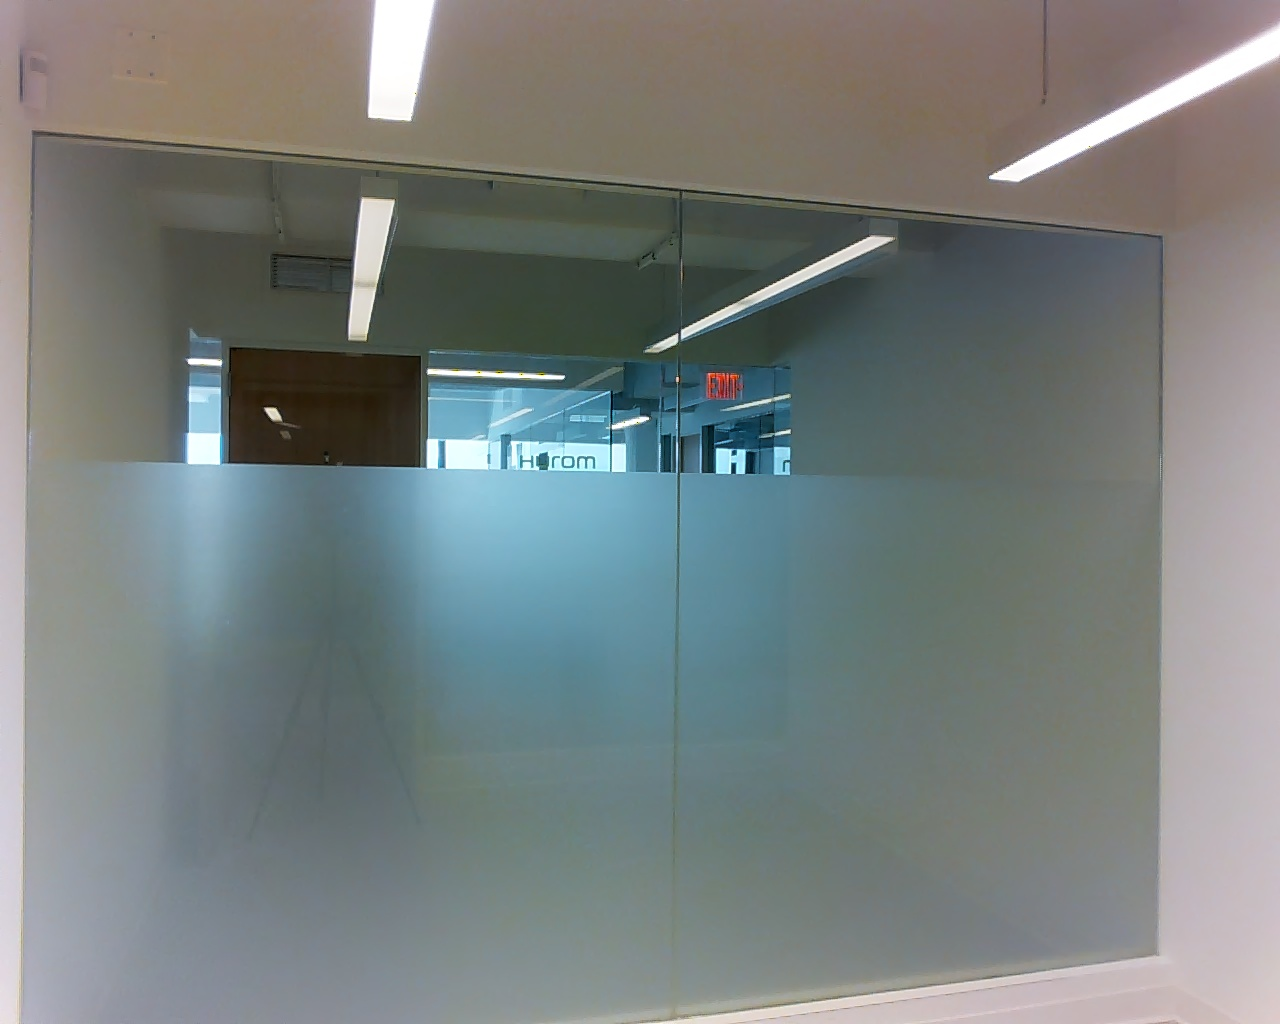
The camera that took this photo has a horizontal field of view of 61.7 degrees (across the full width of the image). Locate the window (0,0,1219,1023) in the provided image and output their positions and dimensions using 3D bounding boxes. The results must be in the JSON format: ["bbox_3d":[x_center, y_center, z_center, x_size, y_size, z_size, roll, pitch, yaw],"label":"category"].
[{"bbox_3d":[0.110,-0.010,2.840,3.399,2.931,0.100,1,0,-16],"label":"window"}]

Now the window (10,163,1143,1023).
[{"bbox_3d":[0.030,0.290,2.720,2.839,2.020,0.170,1,0,-16],"label":"window"}]
